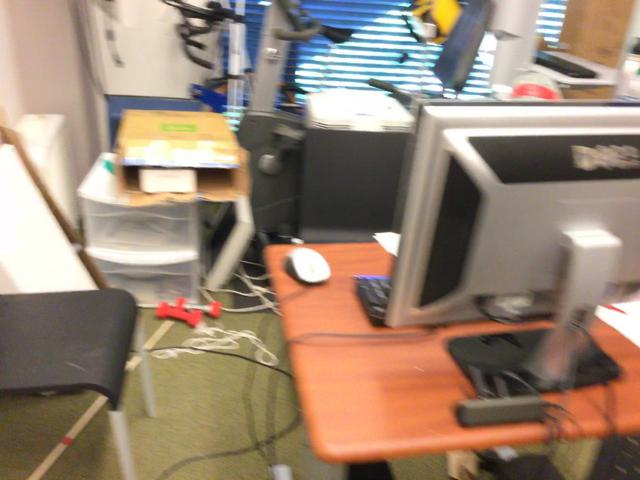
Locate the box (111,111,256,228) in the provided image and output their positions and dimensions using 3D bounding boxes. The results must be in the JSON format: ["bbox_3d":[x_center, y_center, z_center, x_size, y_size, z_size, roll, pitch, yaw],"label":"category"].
[{"bbox_3d":[-0.490,-0.280,2.170,0.460,0.280,0.520,-1,25,-10],"label":"box"}]

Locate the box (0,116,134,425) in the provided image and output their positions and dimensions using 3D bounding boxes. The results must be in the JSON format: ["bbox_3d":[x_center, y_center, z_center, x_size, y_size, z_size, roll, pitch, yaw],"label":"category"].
[{"bbox_3d":[-0.900,0.060,1.800,0.490,0.740,0.640,-1,25,-10],"label":"box"}]

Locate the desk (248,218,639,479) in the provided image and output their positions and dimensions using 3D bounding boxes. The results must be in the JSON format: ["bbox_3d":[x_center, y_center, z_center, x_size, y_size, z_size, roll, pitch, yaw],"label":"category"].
[{"bbox_3d":[0.280,0.450,1.210,0.810,0.800,0.640,-1,25,-10],"label":"desk"}]

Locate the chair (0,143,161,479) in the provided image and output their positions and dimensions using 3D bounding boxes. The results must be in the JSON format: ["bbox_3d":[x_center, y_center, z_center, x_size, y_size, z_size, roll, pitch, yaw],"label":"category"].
[{"bbox_3d":[-0.740,0.230,1.460,0.570,0.800,0.610,-1,25,-10],"label":"chair"}]
